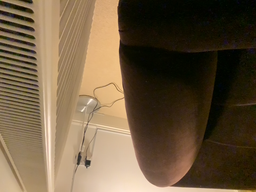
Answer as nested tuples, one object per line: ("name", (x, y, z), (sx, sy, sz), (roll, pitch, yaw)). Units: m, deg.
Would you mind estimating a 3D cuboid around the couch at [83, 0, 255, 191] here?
("couch", (0.540, 0.040, 1.200), (1.020, 0.730, 1.580), (-1, 143, 8))
